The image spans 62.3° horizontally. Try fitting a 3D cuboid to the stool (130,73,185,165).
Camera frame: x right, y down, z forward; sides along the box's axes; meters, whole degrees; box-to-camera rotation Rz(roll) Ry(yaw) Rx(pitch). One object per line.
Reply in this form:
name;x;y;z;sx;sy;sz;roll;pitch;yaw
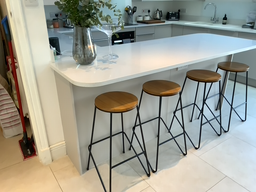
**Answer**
stool;0.250;0.200;1.960;0.340;0.710;0.310;-17;30;-32
